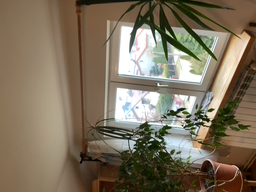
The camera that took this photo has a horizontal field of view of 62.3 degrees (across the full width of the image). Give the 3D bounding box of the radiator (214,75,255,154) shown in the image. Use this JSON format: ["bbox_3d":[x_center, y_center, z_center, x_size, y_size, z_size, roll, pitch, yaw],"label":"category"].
[{"bbox_3d":[1.400,0.250,2.230,0.130,0.650,0.920,-85,2,-54],"label":"radiator"}]
